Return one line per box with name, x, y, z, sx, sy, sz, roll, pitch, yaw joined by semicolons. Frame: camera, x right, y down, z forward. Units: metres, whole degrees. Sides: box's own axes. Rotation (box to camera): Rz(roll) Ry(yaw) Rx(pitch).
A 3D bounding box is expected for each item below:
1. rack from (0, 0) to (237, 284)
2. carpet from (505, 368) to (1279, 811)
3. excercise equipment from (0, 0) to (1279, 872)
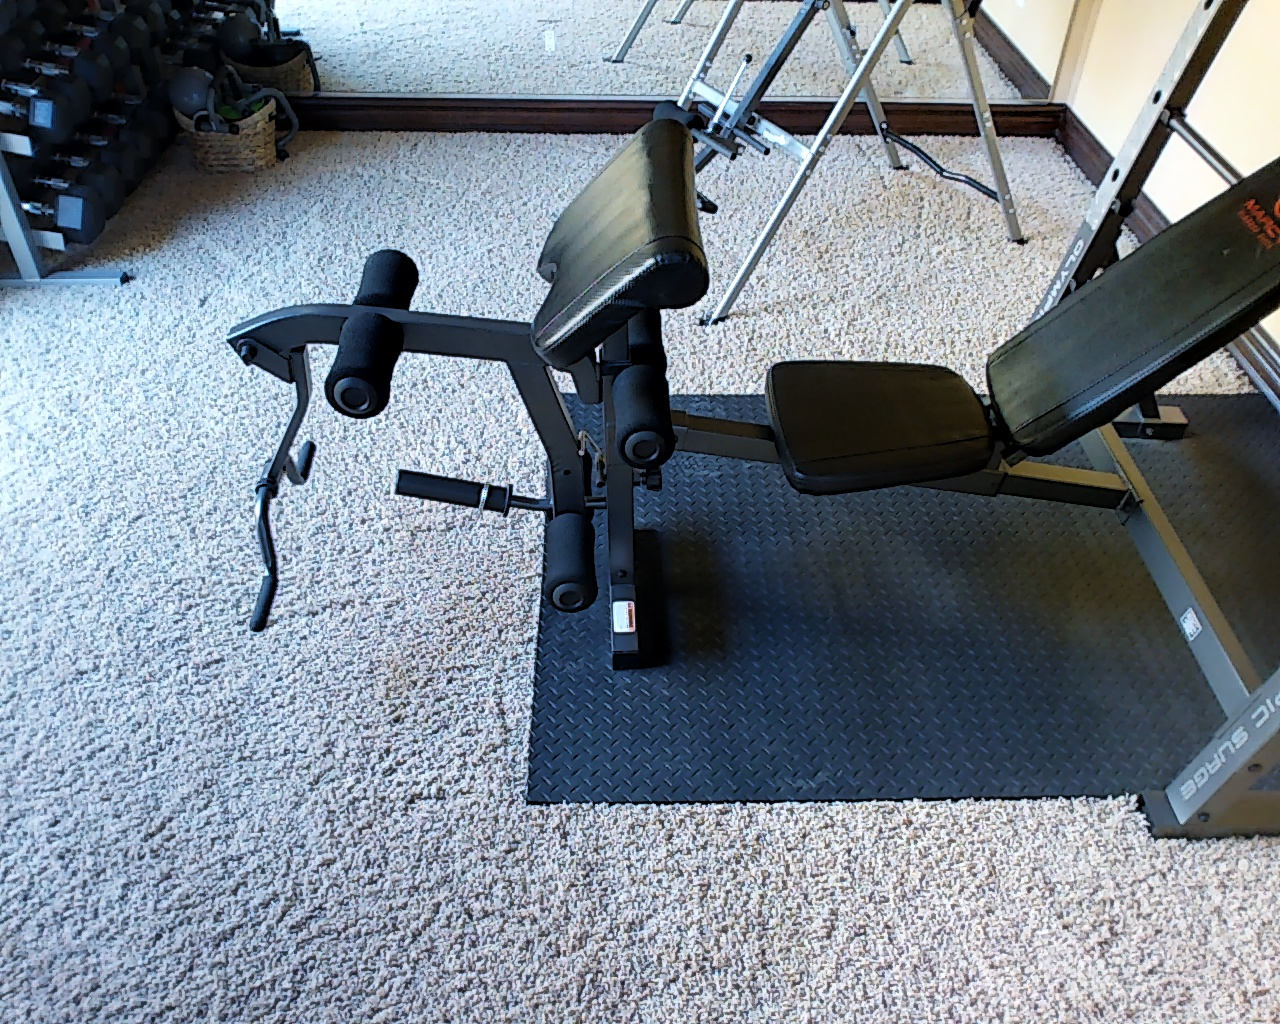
rack;-1.741;-1.349;3.230;0.560;0.790;1.220;0;42;-2
carpet;0.660;0.070;2.250;1.771;0.001;1.270;1;42;-1
excercise equipment;0.330;-0.430;1.690;2.131;1.500;1.280;0;42;-2
